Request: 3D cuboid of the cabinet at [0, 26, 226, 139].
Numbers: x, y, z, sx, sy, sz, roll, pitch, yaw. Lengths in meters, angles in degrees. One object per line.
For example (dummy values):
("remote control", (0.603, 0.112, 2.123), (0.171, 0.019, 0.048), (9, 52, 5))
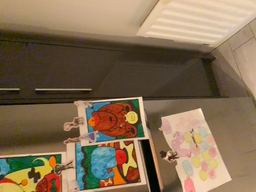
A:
("cabinet", (-0.510, -0.030, 1.290), (0.610, 2.330, 0.410), (-42, 54, 56))
